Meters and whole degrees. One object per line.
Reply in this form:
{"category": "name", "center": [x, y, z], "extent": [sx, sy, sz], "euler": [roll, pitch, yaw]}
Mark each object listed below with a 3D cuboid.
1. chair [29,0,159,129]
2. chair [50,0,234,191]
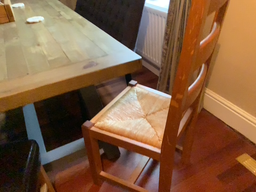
{"category": "chair", "center": [-0.420, -0.590, 1.980], "extent": [0.660, 0.920, 1.480], "euler": [-19, 38, -21]}
{"category": "chair", "center": [0.100, 0.000, 0.970], "extent": [0.490, 1.040, 0.440], "euler": [16, 39, 26]}
